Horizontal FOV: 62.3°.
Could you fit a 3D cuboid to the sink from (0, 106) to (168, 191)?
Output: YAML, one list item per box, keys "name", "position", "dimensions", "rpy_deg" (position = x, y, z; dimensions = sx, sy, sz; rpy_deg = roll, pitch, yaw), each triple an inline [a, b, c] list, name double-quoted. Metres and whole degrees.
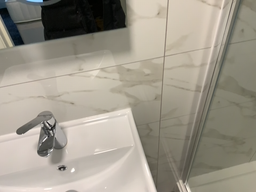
- name: "sink"
  position: [-0.170, 0.290, 0.630]
  dimensions: [0.520, 0.160, 0.430]
  rpy_deg: [-12, 45, -8]
